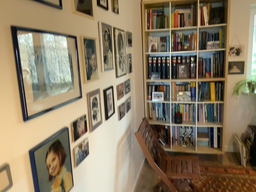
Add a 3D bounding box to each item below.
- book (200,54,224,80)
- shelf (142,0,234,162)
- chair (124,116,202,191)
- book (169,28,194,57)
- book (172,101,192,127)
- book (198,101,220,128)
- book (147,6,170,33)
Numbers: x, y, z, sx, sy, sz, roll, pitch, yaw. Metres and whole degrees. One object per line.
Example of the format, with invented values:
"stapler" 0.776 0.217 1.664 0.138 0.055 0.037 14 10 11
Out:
"book" 1.110 -0.390 2.820 0.270 0.310 0.240 2 13 21
"shelf" 0.780 -0.200 2.910 1.050 2.100 0.400 1 13 14
"chair" 0.360 0.660 2.130 0.660 0.790 0.490 1 12 14
"book" 0.740 -0.730 2.920 0.320 0.350 0.240 1 12 18
"book" 0.760 0.250 2.980 0.260 0.320 0.180 1 12 17
"book" 1.110 0.250 2.940 0.260 0.300 0.270 2 12 18
"book" 0.420 -1.030 2.890 0.270 0.290 0.300 1 12 16
